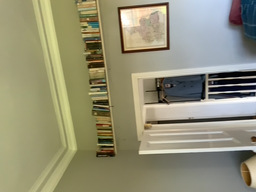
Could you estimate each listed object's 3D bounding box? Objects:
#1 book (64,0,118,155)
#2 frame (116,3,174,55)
[{"bbox_3d":[-0.500,-1.130,2.170,0.240,0.290,3.950,-76,-19,-69],"label":"book"},{"bbox_3d":[0.190,-0.720,2.310,0.060,0.580,0.480,-75,-20,-69],"label":"frame"}]
